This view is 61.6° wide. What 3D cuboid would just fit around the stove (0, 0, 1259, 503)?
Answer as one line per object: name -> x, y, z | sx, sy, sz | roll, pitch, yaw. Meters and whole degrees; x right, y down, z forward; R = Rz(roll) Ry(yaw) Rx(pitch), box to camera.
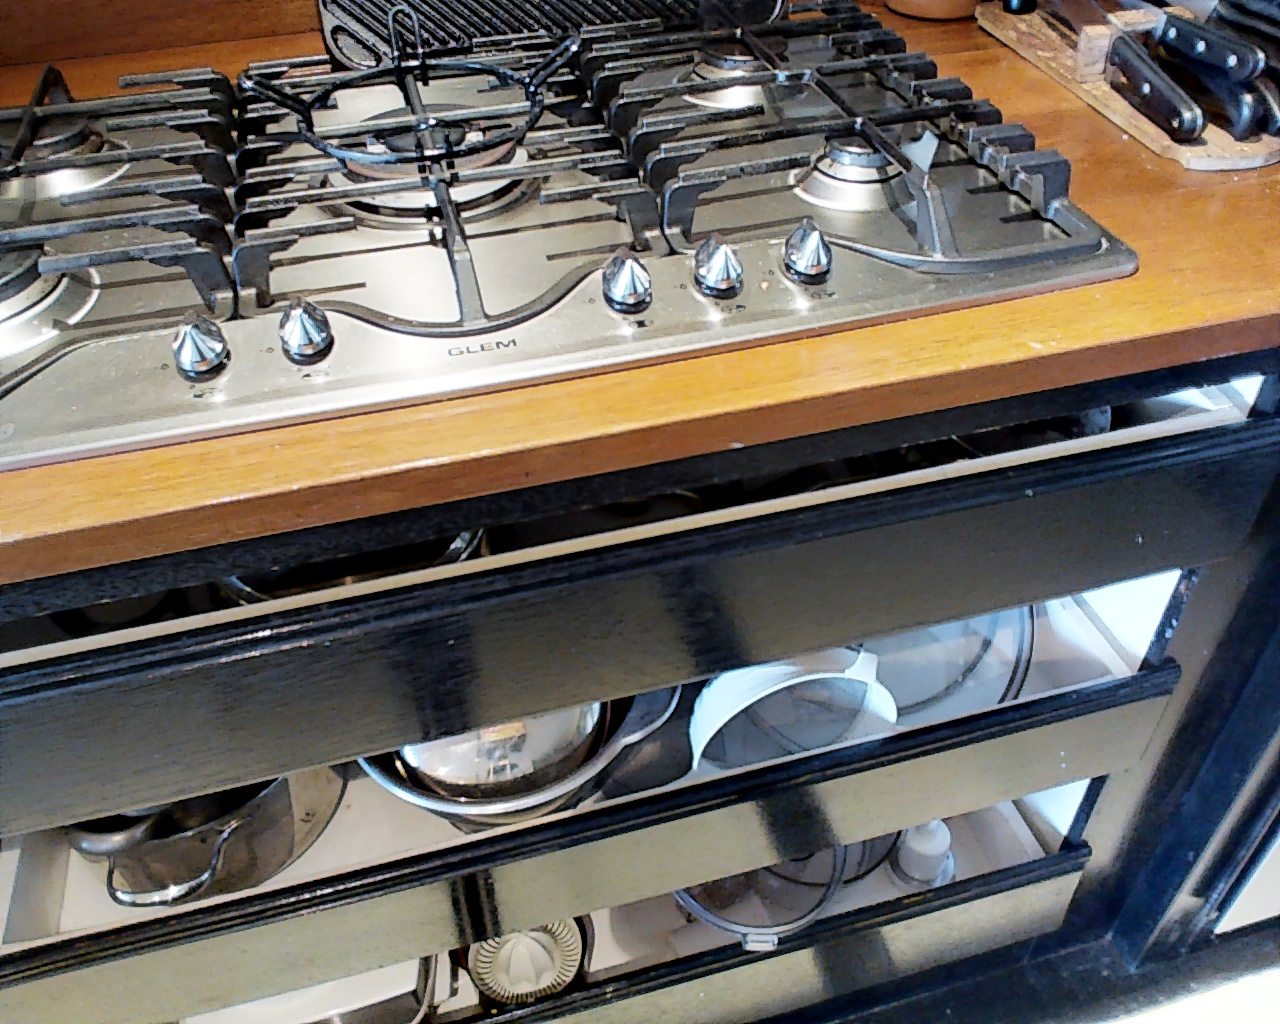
stove -> -0.140, -0.250, 0.770 | 0.910, 0.080, 0.520 | -11, 42, -10
